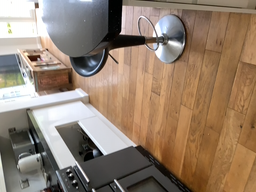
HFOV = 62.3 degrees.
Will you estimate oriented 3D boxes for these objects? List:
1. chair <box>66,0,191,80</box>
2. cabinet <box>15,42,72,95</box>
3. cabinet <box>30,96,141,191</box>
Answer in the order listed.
[{"bbox_3d":[0.000,-0.440,1.550,0.370,0.730,0.430,-42,65,55],"label":"chair"},{"bbox_3d":[-1.810,-0.670,4.410,1.800,0.660,0.570,34,127,49],"label":"cabinet"},{"bbox_3d":[-0.620,0.610,2.740,1.400,0.870,0.660,31,125,50],"label":"cabinet"}]
